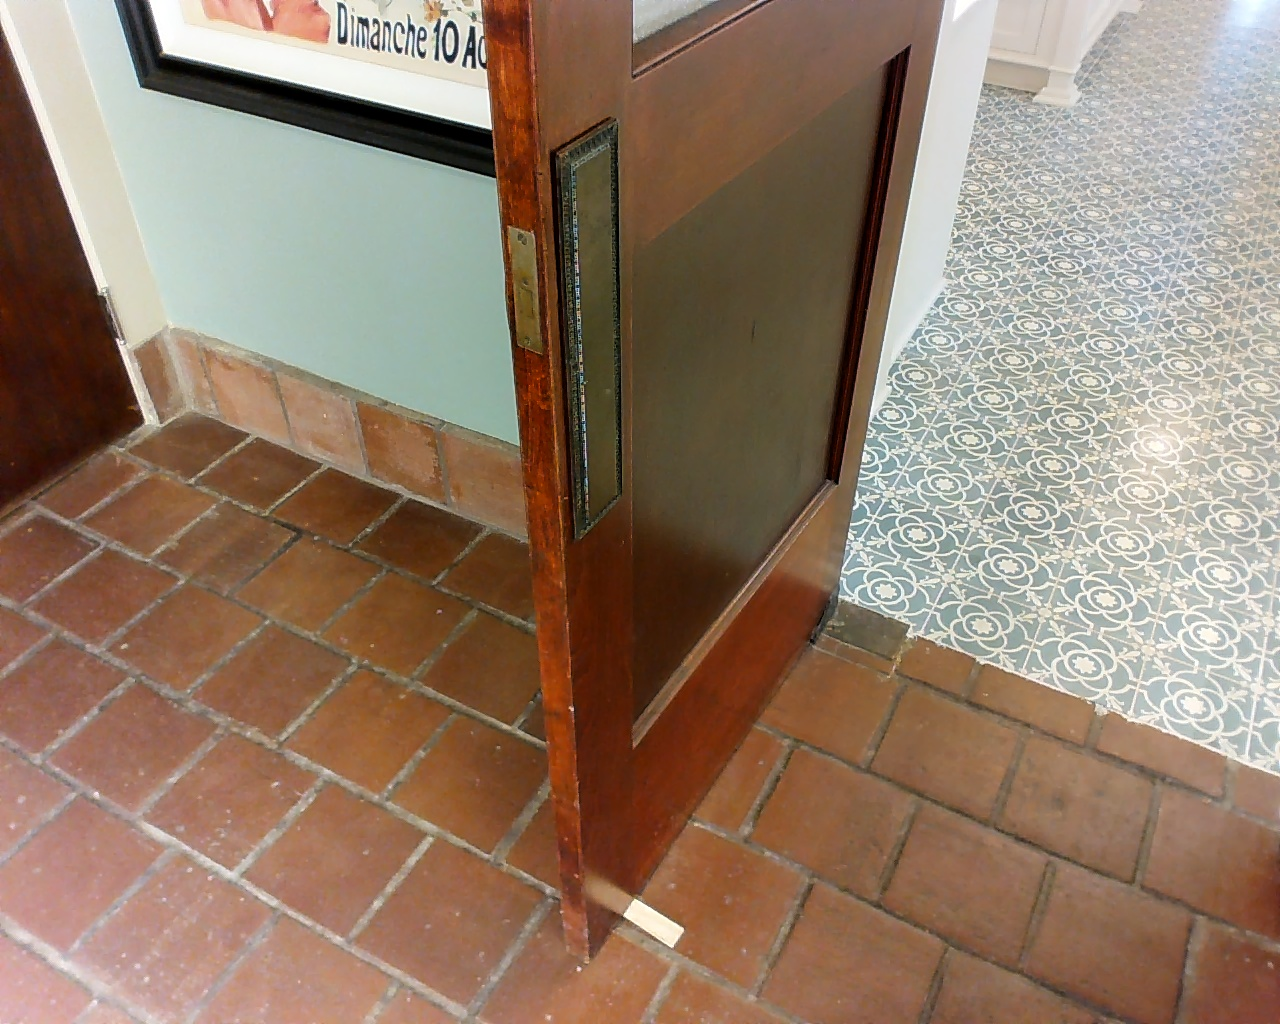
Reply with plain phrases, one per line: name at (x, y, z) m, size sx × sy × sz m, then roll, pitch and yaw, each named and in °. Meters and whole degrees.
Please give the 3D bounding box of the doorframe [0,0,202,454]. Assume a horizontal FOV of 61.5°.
doorframe at (-1.190, -1.060, 1.870) m, size 0.040 × 2.240 × 0.290 m, roll 21°, pitch 46°, yaw 22°
